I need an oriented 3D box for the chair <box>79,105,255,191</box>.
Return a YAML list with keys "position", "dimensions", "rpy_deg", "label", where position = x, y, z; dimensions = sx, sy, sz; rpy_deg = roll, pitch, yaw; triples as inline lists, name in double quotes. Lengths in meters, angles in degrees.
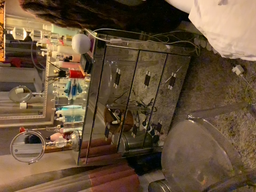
- position: [0.270, 0.320, 0.920]
  dimensions: [0.400, 0.810, 0.400]
  rpy_deg: [50, 130, 48]
  label: "chair"
